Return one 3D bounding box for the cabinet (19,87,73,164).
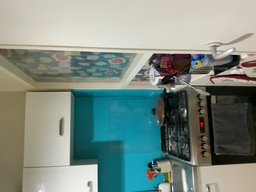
[{"bbox_3d":[-0.690,0.250,1.860,0.320,0.370,0.600,143,127,-78],"label":"cabinet"}]
